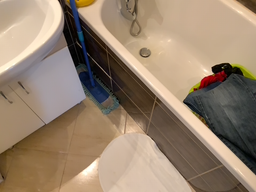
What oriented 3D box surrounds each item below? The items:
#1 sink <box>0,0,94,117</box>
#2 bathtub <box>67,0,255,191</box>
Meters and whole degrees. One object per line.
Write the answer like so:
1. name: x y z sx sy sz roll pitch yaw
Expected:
1. sink: -0.550 -0.180 0.780 0.670 0.210 0.480 -34 68 -17
2. bathtub: 0.450 0.000 1.190 0.680 0.610 1.650 -35 69 -18
